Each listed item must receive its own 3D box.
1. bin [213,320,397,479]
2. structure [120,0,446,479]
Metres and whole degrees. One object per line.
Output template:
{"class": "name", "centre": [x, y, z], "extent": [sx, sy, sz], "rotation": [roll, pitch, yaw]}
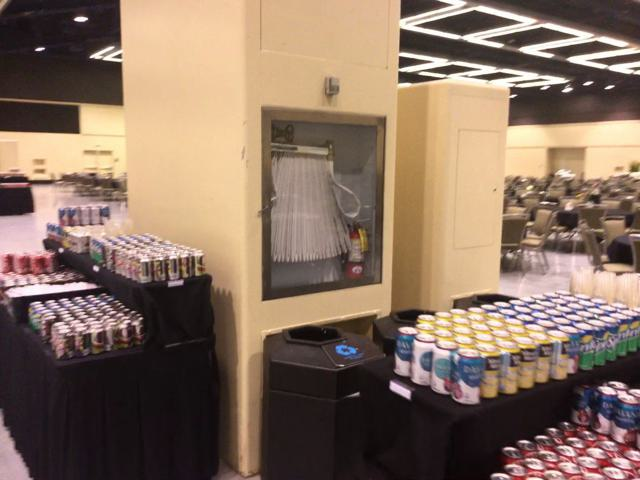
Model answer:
{"class": "bin", "centre": [-0.090, 0.850, 2.600], "extent": [0.560, 0.800, 0.600], "rotation": [-2, 8, -35]}
{"class": "structure", "centre": [-0.390, -0.070, 3.590], "extent": [1.100, 2.300, 1.890], "rotation": [-2, 8, -35]}
